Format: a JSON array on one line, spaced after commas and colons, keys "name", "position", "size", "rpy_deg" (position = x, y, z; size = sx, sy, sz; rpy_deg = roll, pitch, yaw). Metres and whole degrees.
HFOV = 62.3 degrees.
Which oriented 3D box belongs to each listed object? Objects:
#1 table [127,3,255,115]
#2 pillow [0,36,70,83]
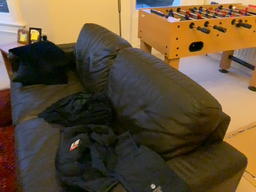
[{"name": "table", "position": [0.850, -0.500, 2.340], "size": [1.520, 0.830, 0.770], "rpy_deg": [-11, 34, -20]}, {"name": "pillow", "position": [-0.810, -0.340, 1.830], "size": [0.490, 0.180, 0.460], "rpy_deg": [-14, 35, -24]}]
